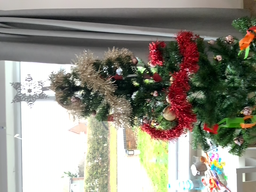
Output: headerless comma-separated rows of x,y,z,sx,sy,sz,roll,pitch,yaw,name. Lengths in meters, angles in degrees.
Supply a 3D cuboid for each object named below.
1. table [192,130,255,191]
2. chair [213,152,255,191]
0.860,0.610,1.700,0.550,0.450,0.570,-176,87,-79,table
0.900,0.580,1.490,0.310,0.460,0.280,-177,87,-79,chair
